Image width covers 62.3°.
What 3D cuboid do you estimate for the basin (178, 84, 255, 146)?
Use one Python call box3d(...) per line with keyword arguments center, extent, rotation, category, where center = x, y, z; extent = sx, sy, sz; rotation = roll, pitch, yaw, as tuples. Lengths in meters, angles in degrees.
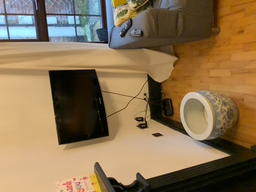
box3d(center=(0.670, 0.110, 1.660), extent=(0.520, 0.270, 0.370), rotation=(-167, 71, -67), category="basin")
